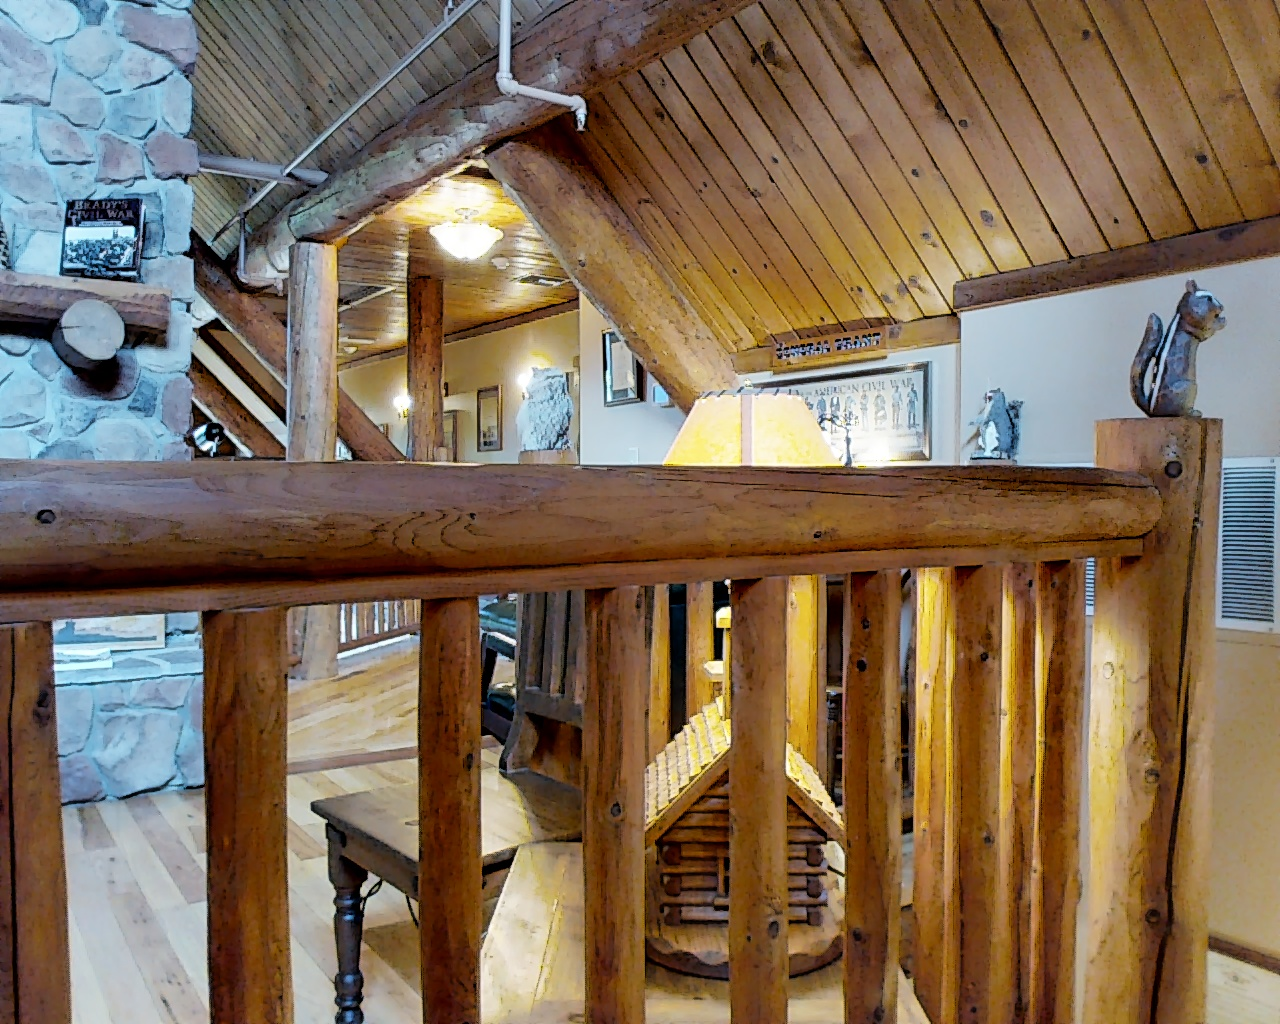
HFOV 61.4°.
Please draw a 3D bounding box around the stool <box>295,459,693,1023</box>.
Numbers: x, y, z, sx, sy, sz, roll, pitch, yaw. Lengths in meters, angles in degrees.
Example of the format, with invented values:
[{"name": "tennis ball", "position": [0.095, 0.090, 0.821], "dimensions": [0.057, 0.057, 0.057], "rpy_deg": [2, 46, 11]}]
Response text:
[{"name": "stool", "position": [-0.290, 0.450, 2.070], "dimensions": [0.540, 1.080, 0.560], "rpy_deg": [-1, 2, -39]}]
